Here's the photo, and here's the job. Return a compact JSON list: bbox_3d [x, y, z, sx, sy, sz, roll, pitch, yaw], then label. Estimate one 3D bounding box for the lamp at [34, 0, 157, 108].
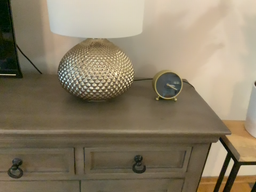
[{"bbox_3d":[-0.110,-0.200,0.790,0.330,0.360,0.330,2,27,-6],"label":"lamp"}]
